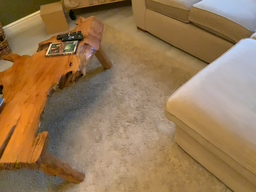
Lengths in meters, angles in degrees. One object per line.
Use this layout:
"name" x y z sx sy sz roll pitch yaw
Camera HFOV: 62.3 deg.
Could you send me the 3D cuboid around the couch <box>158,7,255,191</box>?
"couch" 0.770 0.140 1.050 0.810 0.610 0.910 -37 54 -24
